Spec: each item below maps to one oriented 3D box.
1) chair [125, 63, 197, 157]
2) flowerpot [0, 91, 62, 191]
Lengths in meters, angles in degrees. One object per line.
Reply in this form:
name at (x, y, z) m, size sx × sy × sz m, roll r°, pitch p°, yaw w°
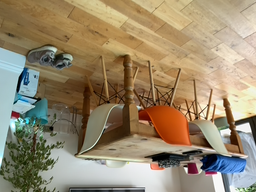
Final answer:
chair at (0.280, 0.170, 2.130) m, size 0.410 × 0.770 × 0.540 m, roll 8°, pitch 153°, yaw -22°
flowerpot at (-1.130, 0.680, 2.480) m, size 0.500 × 1.410 × 0.260 m, roll 18°, pitch 148°, yaw -37°
